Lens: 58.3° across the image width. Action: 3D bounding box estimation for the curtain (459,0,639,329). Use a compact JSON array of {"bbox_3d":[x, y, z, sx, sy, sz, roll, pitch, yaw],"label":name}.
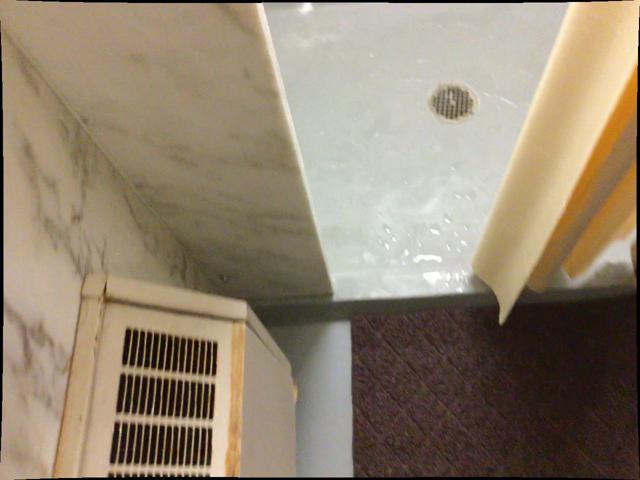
[{"bbox_3d":[0.340,-0.340,0.390,0.250,1.870,0.210,-7,63,4],"label":"curtain"}]
